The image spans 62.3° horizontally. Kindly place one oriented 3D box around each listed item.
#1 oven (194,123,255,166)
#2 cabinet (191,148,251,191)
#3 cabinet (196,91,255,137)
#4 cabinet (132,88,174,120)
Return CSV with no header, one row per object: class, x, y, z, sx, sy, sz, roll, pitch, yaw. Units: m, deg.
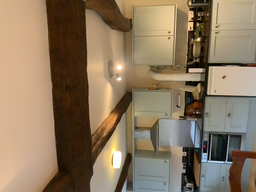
oven,1.780,0.890,4.040,0.580,0.900,0.560,-56,-33,-75
cabinet,1.780,1.580,4.190,0.570,0.900,0.860,-56,-33,-75
cabinet,1.780,0.300,3.900,0.600,0.900,0.650,-56,-33,-75
cabinet,0.490,0.140,4.190,0.370,0.760,0.540,-56,-33,-75
